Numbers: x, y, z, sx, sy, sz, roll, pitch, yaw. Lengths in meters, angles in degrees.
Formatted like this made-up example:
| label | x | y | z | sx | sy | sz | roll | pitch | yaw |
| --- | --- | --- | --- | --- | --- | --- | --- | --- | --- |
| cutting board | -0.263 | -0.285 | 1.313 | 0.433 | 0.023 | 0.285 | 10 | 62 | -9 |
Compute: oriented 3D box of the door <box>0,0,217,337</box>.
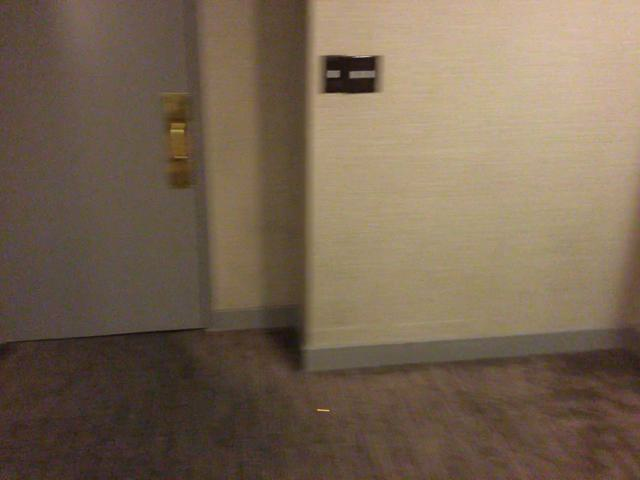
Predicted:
| label | x | y | z | sx | sy | sz | roll | pitch | yaw |
| --- | --- | --- | --- | --- | --- | --- | --- | --- | --- |
| door | -1.010 | -0.530 | 2.350 | 1.050 | 1.930 | 0.140 | -3 | 19 | -7 |
